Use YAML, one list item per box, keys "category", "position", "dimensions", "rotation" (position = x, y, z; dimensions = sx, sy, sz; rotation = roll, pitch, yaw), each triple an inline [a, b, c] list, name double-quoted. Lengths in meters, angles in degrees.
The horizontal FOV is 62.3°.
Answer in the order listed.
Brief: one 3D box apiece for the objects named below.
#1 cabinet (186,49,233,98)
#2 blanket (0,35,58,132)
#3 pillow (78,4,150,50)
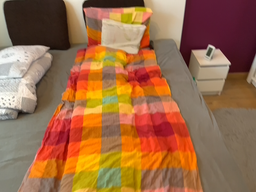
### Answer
- category: "cabinet"
  position: [0.860, -0.250, 2.310]
  dimensions: [0.310, 0.410, 0.330]
  rotation: [-2, 38, 0]
- category: "blanket"
  position: [-0.890, -0.140, 1.520]
  dimensions: [0.550, 0.230, 0.870]
  rotation: [-3, 38, -2]
- category: "pillow"
  position: [-0.110, -0.620, 1.910]
  dimensions: [0.580, 0.330, 0.240]
  rotation: [0, 38, 1]
